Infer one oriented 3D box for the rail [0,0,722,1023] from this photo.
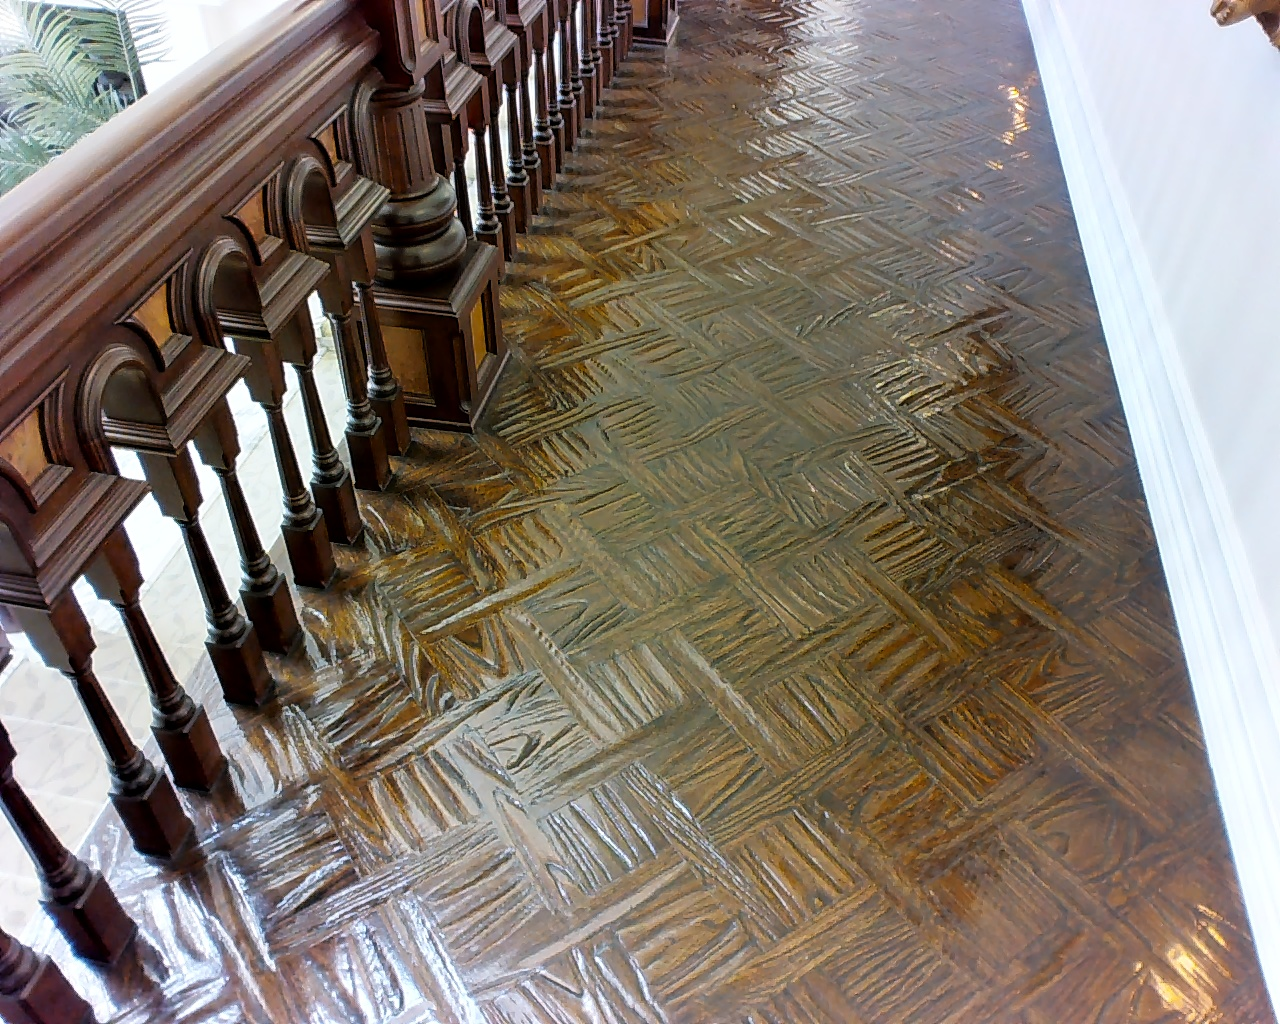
[{"bbox_3d":[-0.310,-1.510,3.180,0.580,1.420,8.200,7,42,7],"label":"rail"}]
